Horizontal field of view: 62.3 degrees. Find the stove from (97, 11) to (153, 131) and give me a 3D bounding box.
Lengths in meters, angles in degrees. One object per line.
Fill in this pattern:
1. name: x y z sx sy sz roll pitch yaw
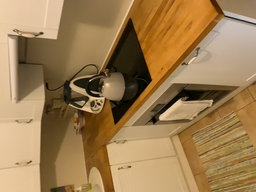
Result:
1. stove: -0.070 -0.150 1.530 0.640 0.010 0.590 -54 45 48
